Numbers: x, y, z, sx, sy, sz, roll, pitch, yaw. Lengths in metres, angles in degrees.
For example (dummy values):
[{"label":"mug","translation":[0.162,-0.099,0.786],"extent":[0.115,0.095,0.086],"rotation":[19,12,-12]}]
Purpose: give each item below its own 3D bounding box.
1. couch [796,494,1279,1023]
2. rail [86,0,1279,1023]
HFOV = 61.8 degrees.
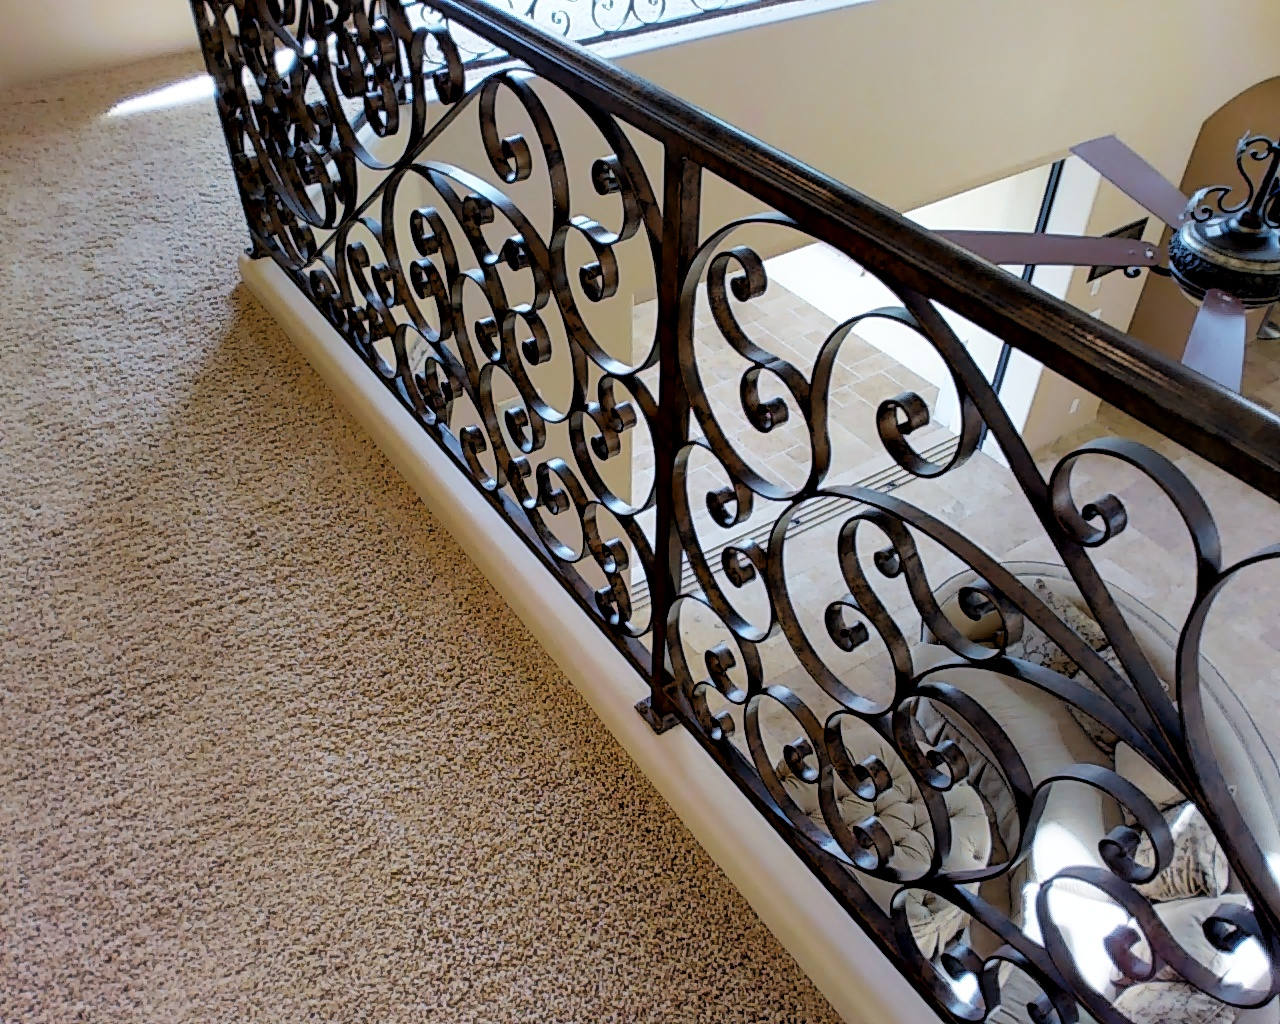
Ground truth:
[{"label":"couch","translation":[1.981,1.709,5.070],"extent":[2.081,0.850,4.069],"rotation":[12,43,12]},{"label":"rail","translation":[0.100,-0.430,1.890],"extent":[0.980,1.130,4.710],"rotation":[-24,47,-25]}]
